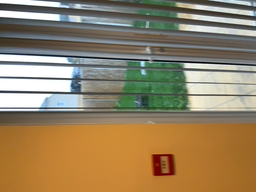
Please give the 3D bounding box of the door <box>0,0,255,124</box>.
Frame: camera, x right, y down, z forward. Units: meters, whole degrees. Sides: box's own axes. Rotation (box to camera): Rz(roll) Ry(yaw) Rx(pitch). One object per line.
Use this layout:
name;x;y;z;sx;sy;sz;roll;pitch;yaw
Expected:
door;0.210;-0.410;1.250;0.150;2.130;1.120;125;144;-69
